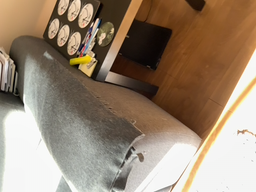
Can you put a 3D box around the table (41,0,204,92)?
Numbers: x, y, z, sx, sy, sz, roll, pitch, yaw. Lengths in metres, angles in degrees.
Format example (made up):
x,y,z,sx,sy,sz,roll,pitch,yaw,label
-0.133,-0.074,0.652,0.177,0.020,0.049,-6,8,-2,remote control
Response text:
x,y,z,sx,sy,sz,roll,pitch,yaw,label
-0.050,-0.430,1.140,0.570,0.450,0.550,38,107,38,table
